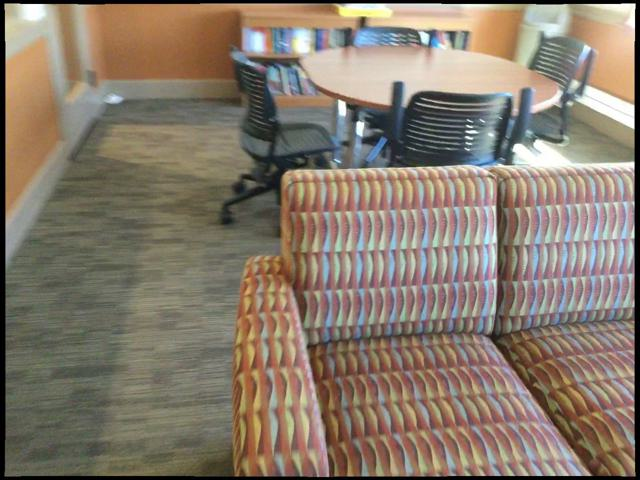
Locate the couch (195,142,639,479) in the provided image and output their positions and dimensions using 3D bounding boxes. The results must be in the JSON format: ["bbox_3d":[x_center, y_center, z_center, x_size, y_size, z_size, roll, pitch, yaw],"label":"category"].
[{"bbox_3d":[0.699,0.301,1.480,1.916,0.821,0.880,-3,30,-9],"label":"couch"}]
